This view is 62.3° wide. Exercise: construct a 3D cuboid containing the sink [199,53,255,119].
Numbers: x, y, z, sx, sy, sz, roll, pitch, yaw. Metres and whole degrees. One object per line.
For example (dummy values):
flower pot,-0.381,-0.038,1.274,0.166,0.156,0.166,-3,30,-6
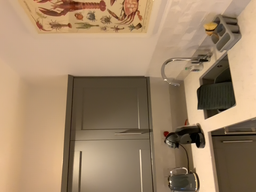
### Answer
sink,0.740,-0.050,1.630,0.450,0.180,0.380,103,166,-74
